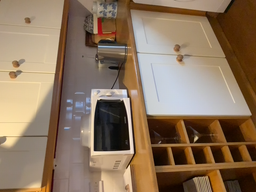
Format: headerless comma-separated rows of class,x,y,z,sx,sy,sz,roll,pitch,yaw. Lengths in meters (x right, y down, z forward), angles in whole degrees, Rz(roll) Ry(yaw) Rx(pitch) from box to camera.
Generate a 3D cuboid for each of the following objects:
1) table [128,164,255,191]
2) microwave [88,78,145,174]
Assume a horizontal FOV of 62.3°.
table,0.470,0.650,1.280,0.610,0.840,0.280,108,159,-54
microwave,-0.120,0.220,1.550,0.390,0.320,0.570,109,159,-55
